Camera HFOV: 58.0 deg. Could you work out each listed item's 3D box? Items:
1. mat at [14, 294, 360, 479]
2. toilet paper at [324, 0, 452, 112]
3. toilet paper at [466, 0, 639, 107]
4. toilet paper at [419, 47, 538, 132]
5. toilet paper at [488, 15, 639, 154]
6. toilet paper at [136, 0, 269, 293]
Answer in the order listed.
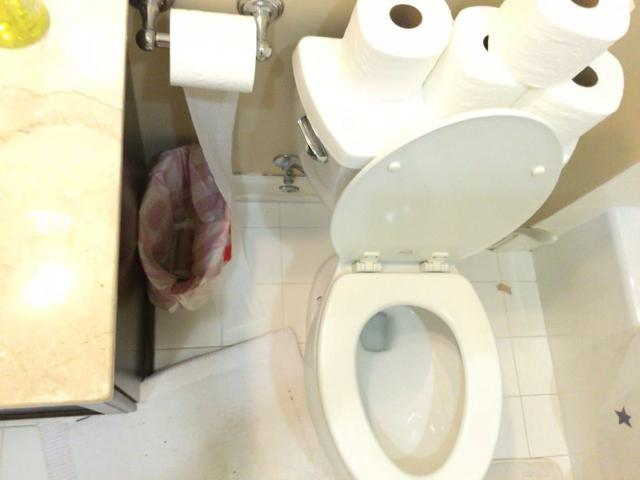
[{"bbox_3d":[-0.270,0.450,1.250,0.670,0.060,0.560,-9,73,-14],"label":"mat"},{"bbox_3d":[0.090,-0.280,0.830,0.140,0.120,0.140,0,71,-12],"label":"toilet paper"},{"bbox_3d":[0.300,-0.280,0.750,0.150,0.140,0.150,0,71,-12],"label":"toilet paper"},{"bbox_3d":[0.220,-0.210,0.820,0.120,0.110,0.060,0,71,-12],"label":"toilet paper"},{"bbox_3d":[0.350,-0.220,0.840,0.140,0.130,0.140,0,71,-12],"label":"toilet paper"},{"bbox_3d":[-0.220,-0.120,1.090,0.160,0.740,0.260,0,71,-12],"label":"toilet paper"}]
